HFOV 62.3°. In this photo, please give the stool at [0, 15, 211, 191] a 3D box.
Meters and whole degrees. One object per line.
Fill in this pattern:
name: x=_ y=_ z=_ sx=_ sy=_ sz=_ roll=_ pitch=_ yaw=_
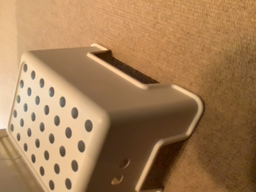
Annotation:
stool: x=-0.120 y=0.060 z=0.540 sx=0.460 sy=0.250 sz=0.350 roll=33 pitch=110 yaw=33
